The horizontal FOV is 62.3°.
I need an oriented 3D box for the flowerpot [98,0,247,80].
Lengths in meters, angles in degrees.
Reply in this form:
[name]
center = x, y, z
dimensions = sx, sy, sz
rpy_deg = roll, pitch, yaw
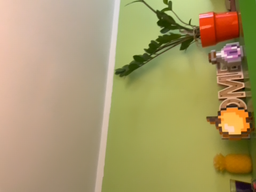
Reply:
[flowerpot]
center = 0.190, -0.320, 0.980
dimensions = 0.240, 0.570, 0.370
rpy_deg = 40, -131, -60
